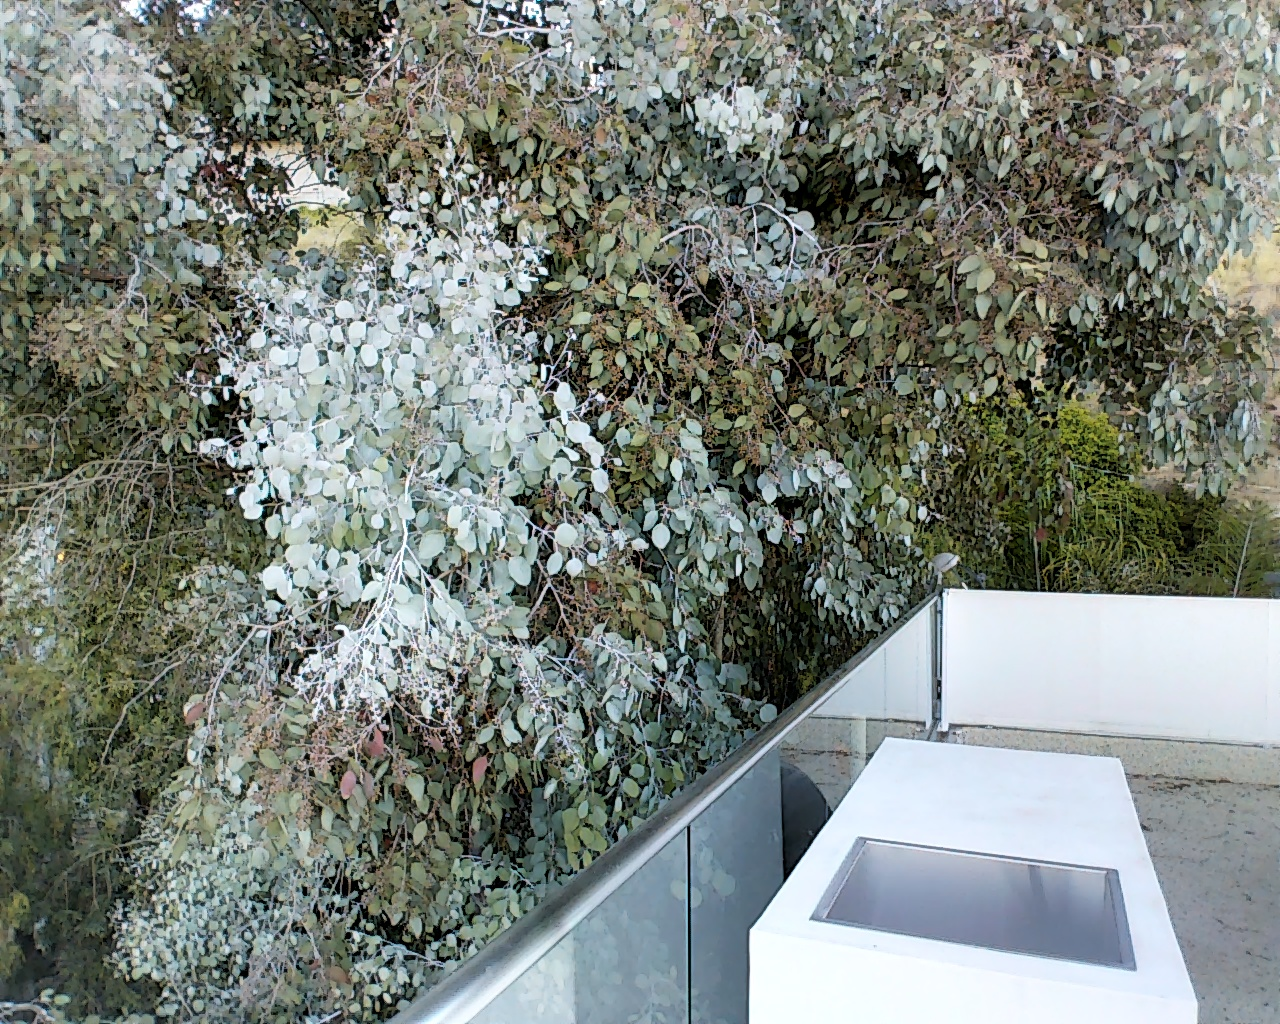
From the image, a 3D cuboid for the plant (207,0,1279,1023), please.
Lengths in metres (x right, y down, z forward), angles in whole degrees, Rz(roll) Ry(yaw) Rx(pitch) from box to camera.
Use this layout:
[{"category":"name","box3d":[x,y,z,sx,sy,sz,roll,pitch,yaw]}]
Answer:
[{"category":"plant","box3d":[0.900,-0.310,3.320,4.109,3.531,1.780,0,0,-22]}]
